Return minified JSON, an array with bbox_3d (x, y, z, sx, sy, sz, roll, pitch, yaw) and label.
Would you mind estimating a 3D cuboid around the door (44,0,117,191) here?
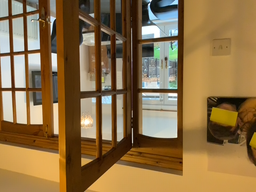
[{"bbox_3d":[-0.200,-0.610,1.120,0.100,2.200,0.770,0,-175,9],"label":"door"}]
